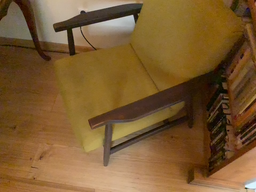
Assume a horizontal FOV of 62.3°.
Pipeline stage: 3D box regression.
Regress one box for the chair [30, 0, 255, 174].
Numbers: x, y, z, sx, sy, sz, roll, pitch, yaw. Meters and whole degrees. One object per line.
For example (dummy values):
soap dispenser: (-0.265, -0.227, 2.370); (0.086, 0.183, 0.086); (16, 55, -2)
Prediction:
chair: (0.010, -0.120, 1.070); (0.670, 0.800, 0.640); (-16, 60, -11)
